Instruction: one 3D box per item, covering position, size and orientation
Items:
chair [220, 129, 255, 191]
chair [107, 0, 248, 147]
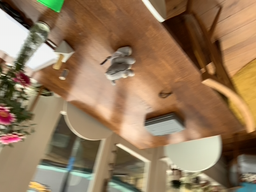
[{"bbox_3d":[1.600,0.970,2.710,0.560,0.730,0.870,2,143,12],"label":"chair"},{"bbox_3d":[0.290,-0.250,1.230,0.480,0.920,0.420,-20,134,36],"label":"chair"}]
